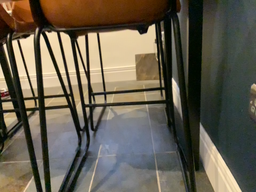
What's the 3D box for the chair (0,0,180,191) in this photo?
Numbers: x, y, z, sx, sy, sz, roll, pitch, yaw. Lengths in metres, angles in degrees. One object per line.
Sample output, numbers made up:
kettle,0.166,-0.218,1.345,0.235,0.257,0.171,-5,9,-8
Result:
chair,-0.050,-0.090,0.820,0.440,0.990,0.520,-2,21,10
